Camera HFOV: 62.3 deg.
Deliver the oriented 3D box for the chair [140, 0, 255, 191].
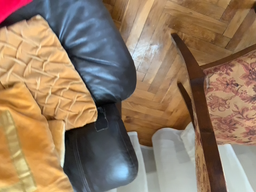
[{"bbox_3d":[0.370,0.030,0.700,0.510,0.890,0.410,-12,127,7],"label":"chair"}]
